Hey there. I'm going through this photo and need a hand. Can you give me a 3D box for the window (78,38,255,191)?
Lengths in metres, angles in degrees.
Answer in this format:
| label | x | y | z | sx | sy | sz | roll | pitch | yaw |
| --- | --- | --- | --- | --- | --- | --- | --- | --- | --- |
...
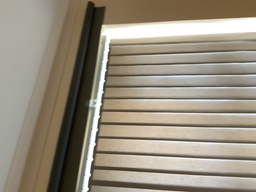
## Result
| label | x | y | z | sx | sy | sz | roll | pitch | yaw |
| --- | --- | --- | --- | --- | --- | --- | --- | --- | --- |
| window | 0.430 | 0.100 | 1.090 | 0.020 | 1.290 | 0.970 | 73 | -160 | -63 |
